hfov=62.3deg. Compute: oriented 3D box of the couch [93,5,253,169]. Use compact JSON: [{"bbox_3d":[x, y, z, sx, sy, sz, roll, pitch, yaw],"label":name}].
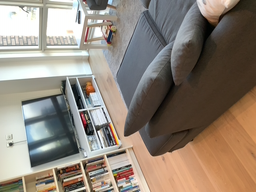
[{"bbox_3d":[0.220,-0.080,1.710,0.910,0.630,0.810,65,148,30],"label":"couch"}]
